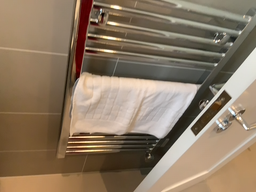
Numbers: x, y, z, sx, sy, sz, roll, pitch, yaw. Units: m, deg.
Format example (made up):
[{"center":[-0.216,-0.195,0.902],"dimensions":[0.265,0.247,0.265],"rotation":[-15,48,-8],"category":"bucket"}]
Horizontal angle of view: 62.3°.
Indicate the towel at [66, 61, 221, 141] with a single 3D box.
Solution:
[{"center":[0.040,0.050,0.830],"dimensions":[0.520,0.320,0.100],"rotation":[4,48,-19],"category":"towel"}]
